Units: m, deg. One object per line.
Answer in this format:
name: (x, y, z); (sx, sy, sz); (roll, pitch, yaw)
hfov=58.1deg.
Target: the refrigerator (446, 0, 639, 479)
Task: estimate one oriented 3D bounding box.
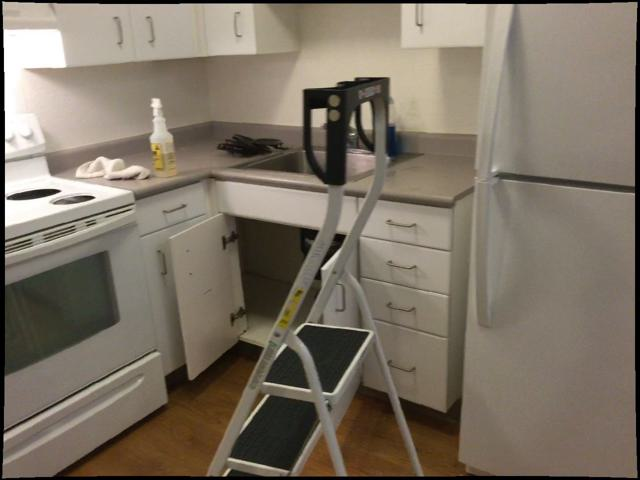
refrigerator: (0.728, 0.120, 1.460); (0.779, 1.554, 0.170); (11, 25, 34)
